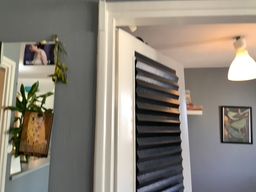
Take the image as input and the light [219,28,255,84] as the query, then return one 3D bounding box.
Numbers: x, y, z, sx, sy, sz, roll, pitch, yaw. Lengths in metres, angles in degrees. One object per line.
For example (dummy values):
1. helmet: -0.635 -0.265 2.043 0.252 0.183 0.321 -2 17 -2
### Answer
1. light: 1.130 -0.380 2.170 0.310 0.420 0.410 -4 -10 29
